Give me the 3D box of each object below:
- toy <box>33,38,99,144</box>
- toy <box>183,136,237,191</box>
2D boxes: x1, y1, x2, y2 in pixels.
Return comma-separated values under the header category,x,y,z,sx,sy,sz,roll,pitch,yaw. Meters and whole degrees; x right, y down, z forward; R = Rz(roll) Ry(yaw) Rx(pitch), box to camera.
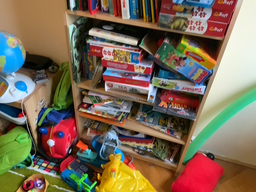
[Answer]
category,x,y,z,sx,sy,sz,roll,pitch,yaw
toy,-0.430,-0.040,1.660,0.240,0.630,0.480,13,39,9
toy,0.570,0.500,1.520,0.290,0.190,0.320,12,39,8
